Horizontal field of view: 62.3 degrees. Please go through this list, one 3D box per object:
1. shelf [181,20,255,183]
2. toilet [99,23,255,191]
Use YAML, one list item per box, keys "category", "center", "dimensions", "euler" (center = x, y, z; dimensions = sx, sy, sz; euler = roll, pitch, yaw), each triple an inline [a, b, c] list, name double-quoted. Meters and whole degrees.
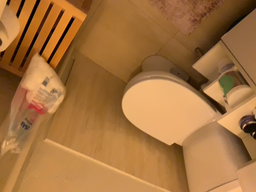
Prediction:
- category: "shelf"
  center: [0.550, -0.010, 1.030]
  dimensions: [0.380, 0.850, 0.200]
  euler: [30, 124, -25]
- category: "toilet"
  center: [0.250, 0.100, 1.160]
  dimensions: [0.640, 0.790, 0.380]
  euler: [30, 124, -25]
